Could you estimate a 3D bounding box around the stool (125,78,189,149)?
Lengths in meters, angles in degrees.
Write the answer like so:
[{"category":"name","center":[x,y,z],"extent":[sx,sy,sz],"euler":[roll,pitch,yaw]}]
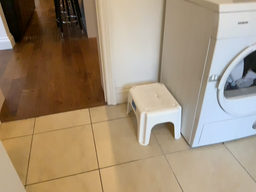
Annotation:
[{"category":"stool","center":[0.170,0.100,1.450],"extent":[0.290,0.250,0.400],"euler":[-9,35,-11]}]
